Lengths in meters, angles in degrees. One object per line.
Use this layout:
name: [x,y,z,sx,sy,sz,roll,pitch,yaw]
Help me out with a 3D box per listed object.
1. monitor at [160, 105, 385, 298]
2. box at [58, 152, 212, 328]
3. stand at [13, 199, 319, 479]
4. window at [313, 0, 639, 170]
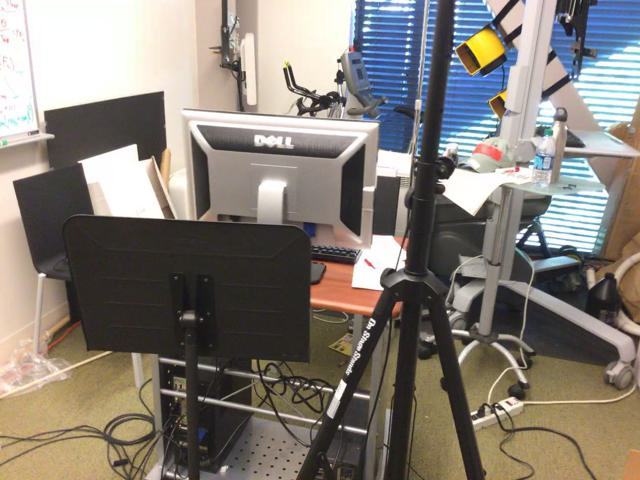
monitor: [-0.120,-0.110,1.490,0.530,0.430,0.170,6,17,10]
box: [-0.860,-0.040,2.830,0.390,0.670,0.660,7,17,14]
stand: [-0.310,0.410,1.310,0.570,0.960,0.190,3,16,1]
window: [1.200,-1.260,3.500,2.410,1.490,0.410,7,17,14]
